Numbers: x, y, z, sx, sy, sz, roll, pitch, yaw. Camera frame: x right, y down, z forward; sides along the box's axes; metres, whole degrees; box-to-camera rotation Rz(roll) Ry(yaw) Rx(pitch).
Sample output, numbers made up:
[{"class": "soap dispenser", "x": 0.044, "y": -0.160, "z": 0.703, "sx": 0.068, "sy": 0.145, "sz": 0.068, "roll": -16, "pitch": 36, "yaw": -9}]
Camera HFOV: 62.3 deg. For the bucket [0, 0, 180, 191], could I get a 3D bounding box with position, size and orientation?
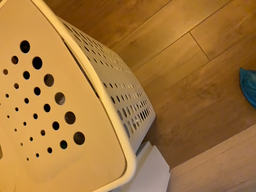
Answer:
[{"class": "bucket", "x": -0.120, "y": 0.030, "z": 0.690, "sx": 0.350, "sy": 0.580, "sz": 0.460, "roll": -35, "pitch": 83, "yaw": 14}]
